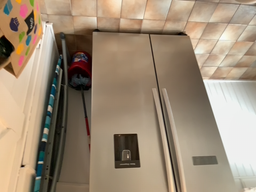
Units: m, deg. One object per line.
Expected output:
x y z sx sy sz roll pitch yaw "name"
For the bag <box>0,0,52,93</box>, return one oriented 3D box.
-0.520 -0.280 1.000 0.200 0.370 0.410 0 148 -8 "bag"
